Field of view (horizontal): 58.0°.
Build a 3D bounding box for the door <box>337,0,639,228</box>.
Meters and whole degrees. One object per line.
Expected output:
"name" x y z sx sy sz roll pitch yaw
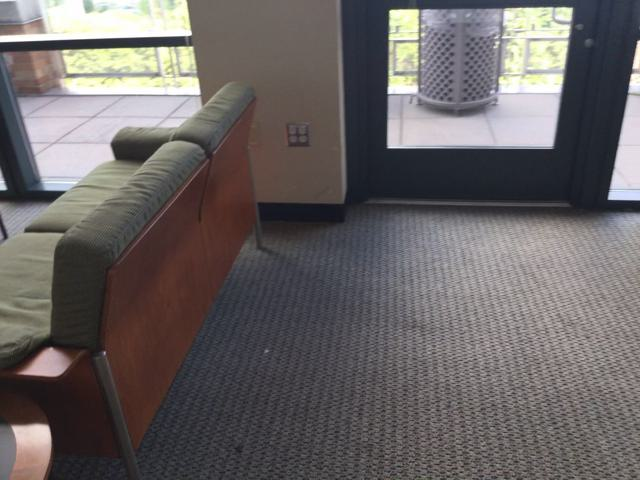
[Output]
"door" 0.720 -1.020 2.400 1.240 1.900 0.380 5 31 17
